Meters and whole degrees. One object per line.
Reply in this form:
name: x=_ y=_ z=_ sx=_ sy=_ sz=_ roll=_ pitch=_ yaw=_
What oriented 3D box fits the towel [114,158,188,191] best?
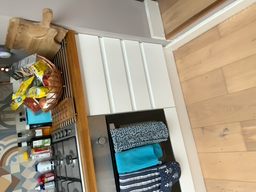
towel: x=0.150 y=0.510 z=1.220 sx=0.070 sy=0.460 sz=0.200 roll=-22 pitch=75 yaw=53

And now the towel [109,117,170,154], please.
towel: x=0.080 y=0.230 z=1.280 sx=0.070 sy=0.380 sz=0.160 roll=-22 pitch=75 yaw=53

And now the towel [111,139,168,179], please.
towel: x=0.070 y=0.350 z=1.210 sx=0.090 sy=0.310 sz=0.150 roll=-24 pitch=73 yaw=53
